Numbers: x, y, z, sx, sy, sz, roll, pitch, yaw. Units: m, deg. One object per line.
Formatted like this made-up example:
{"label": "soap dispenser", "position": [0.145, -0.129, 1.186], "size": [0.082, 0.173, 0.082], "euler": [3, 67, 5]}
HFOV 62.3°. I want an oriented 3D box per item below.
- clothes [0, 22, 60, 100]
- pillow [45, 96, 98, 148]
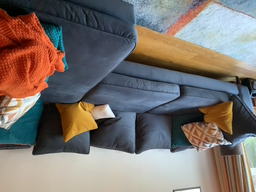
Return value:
{"label": "clothes", "position": [-0.560, -0.140, 1.030], "size": [0.330, 0.160, 0.460], "euler": [8, 159, -29]}
{"label": "pillow", "position": [-0.560, 0.250, 2.110], "size": [0.390, 0.350, 0.170], "euler": [-22, 157, -26]}
